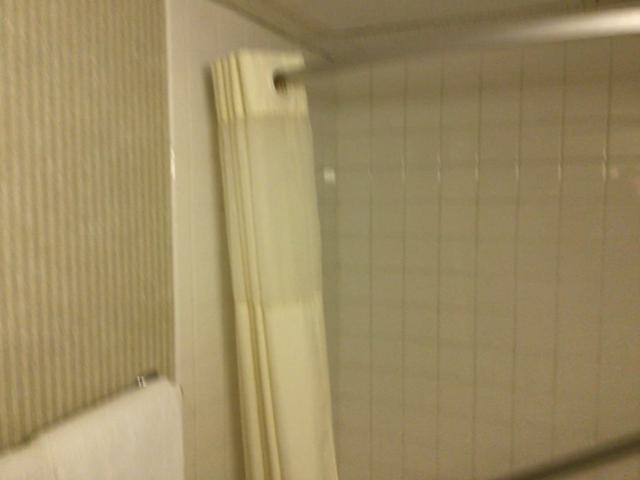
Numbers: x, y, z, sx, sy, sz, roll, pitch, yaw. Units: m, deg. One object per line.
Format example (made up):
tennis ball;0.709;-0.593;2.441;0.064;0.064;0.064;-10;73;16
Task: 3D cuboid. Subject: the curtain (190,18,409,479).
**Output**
curtain;-0.020;0.420;1.180;0.350;1.590;0.220;1;6;25
